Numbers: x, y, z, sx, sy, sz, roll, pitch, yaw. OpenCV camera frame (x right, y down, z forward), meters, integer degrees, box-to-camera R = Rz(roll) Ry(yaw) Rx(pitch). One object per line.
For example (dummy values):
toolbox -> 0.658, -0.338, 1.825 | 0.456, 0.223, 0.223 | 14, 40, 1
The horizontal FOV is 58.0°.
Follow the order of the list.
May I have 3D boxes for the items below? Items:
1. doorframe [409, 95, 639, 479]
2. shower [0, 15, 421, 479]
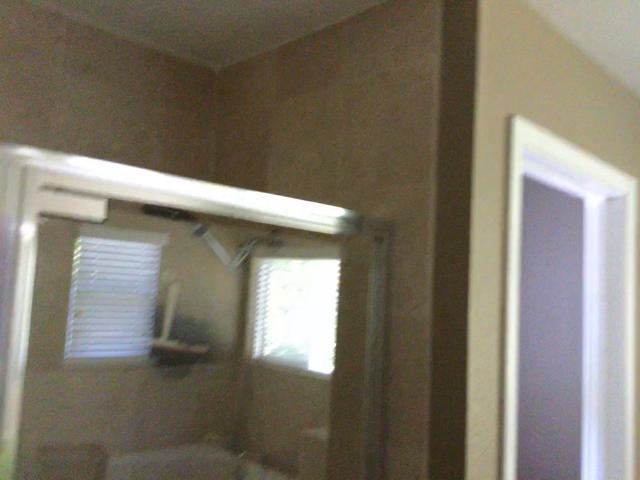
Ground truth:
doorframe -> 0.620, 0.740, 1.570 | 0.850, 2.040, 0.270 | 10, -10, -40
shower -> -0.480, 0.740, 1.260 | 0.970, 1.950, 0.890 | 10, -10, -40
